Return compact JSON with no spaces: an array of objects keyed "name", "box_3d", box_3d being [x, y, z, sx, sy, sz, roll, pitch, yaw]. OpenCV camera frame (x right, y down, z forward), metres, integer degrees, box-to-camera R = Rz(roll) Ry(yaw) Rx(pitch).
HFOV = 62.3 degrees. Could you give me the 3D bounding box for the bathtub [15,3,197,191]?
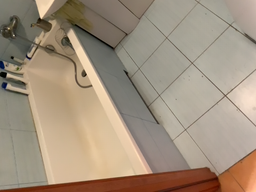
[{"name":"bathtub","box_3d":[-0.320,0.080,1.660,0.700,0.570,1.570,-46,54,21]}]
